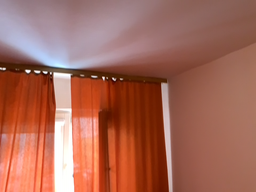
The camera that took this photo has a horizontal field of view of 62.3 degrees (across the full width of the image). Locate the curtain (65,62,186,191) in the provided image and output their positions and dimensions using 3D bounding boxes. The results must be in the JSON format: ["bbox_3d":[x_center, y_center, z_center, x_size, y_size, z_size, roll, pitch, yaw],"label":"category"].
[{"bbox_3d":[0.010,0.780,2.330,1.300,2.150,0.300,3,-11,-27],"label":"curtain"}]

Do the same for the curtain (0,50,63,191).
[{"bbox_3d":[-1.220,0.700,1.800,1.220,2.240,0.190,3,-11,-25],"label":"curtain"}]
